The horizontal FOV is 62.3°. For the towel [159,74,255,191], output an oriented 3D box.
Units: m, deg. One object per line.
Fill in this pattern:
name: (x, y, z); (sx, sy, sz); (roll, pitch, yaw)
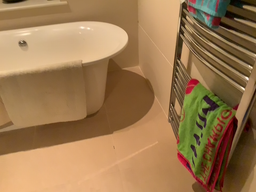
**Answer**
towel: (0.320, 0.240, 1.030); (0.160, 0.540, 0.400); (-14, 40, -13)

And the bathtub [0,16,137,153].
bathtub: (-0.860, -0.110, 1.770); (1.690, 0.640, 0.850); (-10, 39, -8)
